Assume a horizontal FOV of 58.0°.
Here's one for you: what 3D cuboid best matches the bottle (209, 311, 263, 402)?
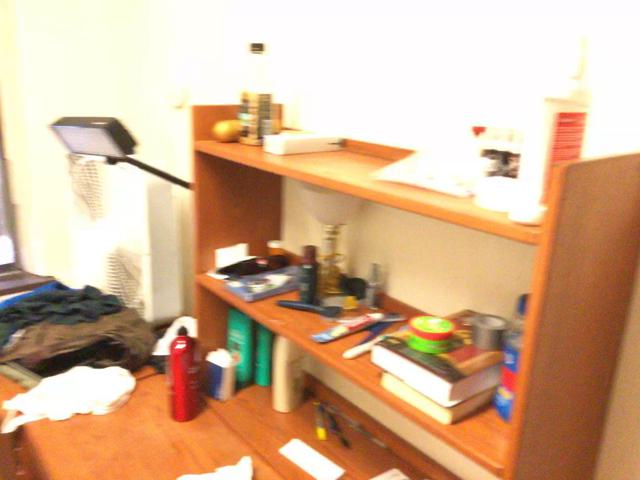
[{"bbox_3d":[-0.210,0.290,1.450,0.110,0.190,0.070,-10,20,-37],"label":"bottle"}]

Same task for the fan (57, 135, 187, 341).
[{"bbox_3d":[-0.660,-0.040,1.900,0.200,0.540,0.550,-10,20,-37],"label":"fan"}]

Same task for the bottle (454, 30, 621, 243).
[{"bbox_3d":[0.260,-0.130,0.710,0.100,0.230,0.130,-10,20,-37],"label":"bottle"}]

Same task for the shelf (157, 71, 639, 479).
[{"bbox_3d":[0.040,0.100,1.150,0.300,0.810,1.010,-10,20,-37],"label":"shelf"}]
